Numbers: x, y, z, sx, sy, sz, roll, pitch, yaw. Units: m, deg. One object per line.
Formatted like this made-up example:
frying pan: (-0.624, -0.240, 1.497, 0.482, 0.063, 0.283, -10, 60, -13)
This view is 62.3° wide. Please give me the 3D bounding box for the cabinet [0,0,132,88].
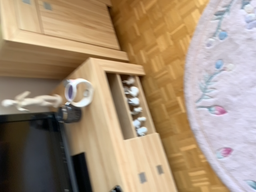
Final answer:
cabinet: (-0.550, -0.500, 1.570, 0.530, 0.880, 0.710, -30, 71, 39)
